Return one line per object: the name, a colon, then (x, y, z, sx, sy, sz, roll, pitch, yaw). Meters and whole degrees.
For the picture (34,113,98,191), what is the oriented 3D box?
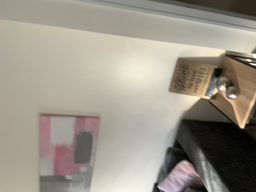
picture: (-0.610, 0.680, 2.040, 0.030, 0.520, 1.160, -111, 28, -60)

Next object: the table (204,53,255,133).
table: (1.010, -0.030, 1.730, 0.480, 0.440, 0.460, -111, 28, -60)
